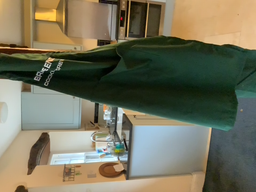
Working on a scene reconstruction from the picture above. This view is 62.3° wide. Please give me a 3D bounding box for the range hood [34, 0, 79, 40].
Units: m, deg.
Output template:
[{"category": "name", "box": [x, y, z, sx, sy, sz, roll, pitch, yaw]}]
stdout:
[{"category": "range hood", "box": [-1.180, -1.260, 3.540, 0.250, 0.680, 0.560, -131, 44, -71]}]
